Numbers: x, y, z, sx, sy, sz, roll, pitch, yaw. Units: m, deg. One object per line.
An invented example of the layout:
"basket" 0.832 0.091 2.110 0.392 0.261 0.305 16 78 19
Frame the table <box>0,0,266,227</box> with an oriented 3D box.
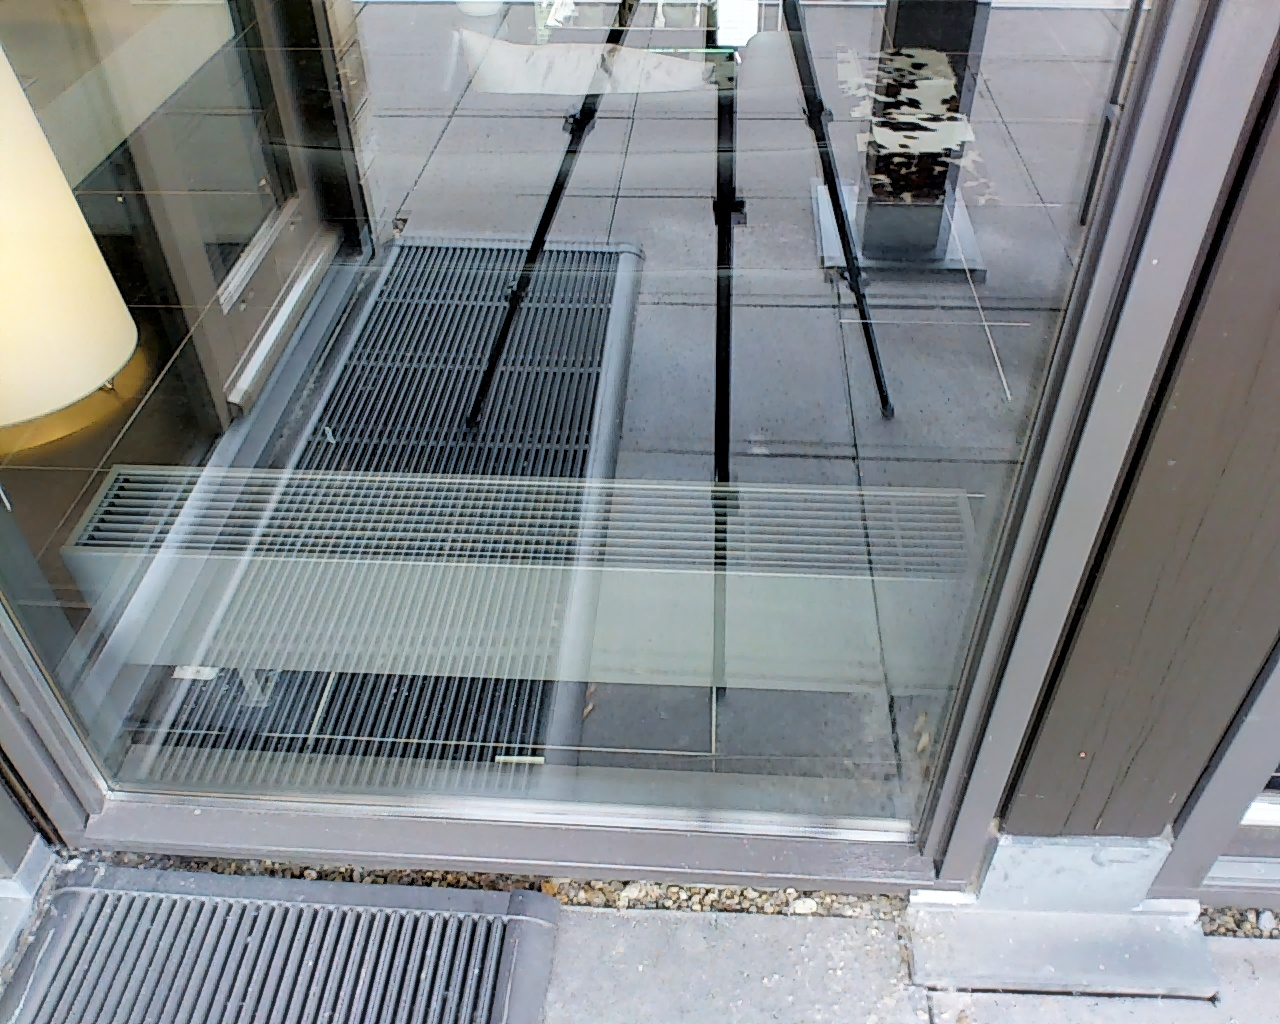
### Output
"table" -1.900 -1.440 3.440 0.810 0.270 1.690 2 42 3
